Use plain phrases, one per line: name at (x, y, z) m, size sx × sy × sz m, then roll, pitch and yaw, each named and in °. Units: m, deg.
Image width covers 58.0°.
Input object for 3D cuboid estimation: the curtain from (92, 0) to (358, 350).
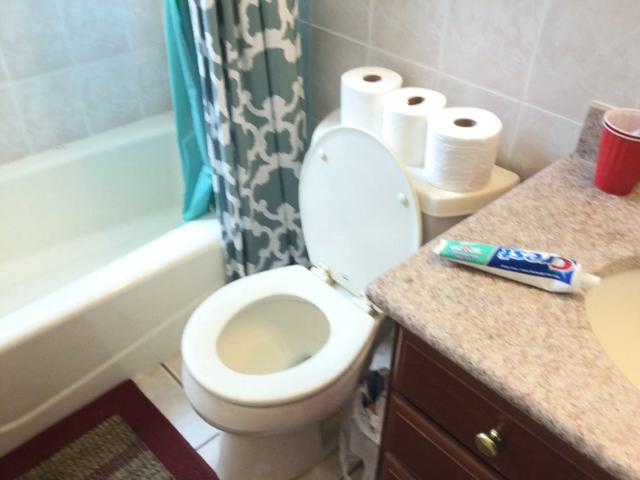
curtain at (-0.230, -0.620, 1.290) m, size 0.390 × 1.850 × 0.510 m, roll -29°, pitch 47°, yaw -33°
